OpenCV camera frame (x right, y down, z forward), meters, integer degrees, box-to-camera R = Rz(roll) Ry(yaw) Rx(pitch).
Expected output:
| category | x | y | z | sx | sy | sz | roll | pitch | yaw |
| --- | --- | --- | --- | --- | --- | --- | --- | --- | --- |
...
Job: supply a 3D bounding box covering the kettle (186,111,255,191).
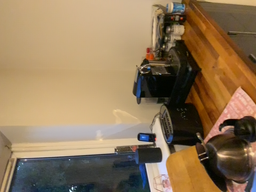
| category | x | y | z | sx | sy | sz | roll | pitch | yaw |
| --- | --- | --- | --- | --- | --- | --- | --- | --- | --- |
| kettle | 0.380 | 0.240 | 0.900 | 0.260 | 0.120 | 0.240 | 100 | 165 | -45 |
